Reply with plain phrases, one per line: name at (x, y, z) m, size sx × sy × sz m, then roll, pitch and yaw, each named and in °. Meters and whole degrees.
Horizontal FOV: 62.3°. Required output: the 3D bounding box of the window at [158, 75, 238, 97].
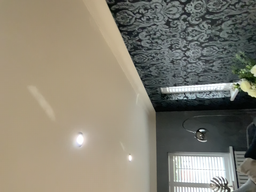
window at (1.130, -0.150, 3.560) m, size 0.630 × 1.170 × 0.060 m, roll 57°, pitch -146°, yaw -64°

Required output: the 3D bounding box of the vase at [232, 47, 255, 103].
vase at (1.410, -0.210, 2.170) m, size 0.440 × 0.500 × 0.420 m, roll 57°, pitch -147°, yaw -64°
